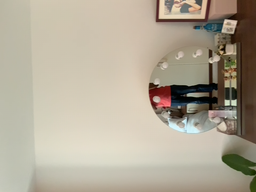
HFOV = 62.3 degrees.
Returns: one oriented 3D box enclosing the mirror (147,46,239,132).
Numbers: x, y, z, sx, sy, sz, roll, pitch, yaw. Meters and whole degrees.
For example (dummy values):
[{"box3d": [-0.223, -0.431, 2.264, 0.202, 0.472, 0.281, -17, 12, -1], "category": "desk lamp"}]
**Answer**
[{"box3d": [0.570, -0.060, 1.890, 0.040, 0.800, 0.750, -68, -22, -87], "category": "mirror"}]
